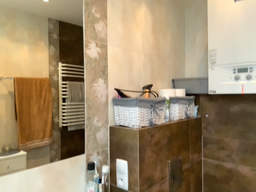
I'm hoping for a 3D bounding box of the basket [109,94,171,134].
[{"bbox_3d":[0.080,0.090,1.270,0.200,0.200,0.340,1,2,41],"label":"basket"}]
